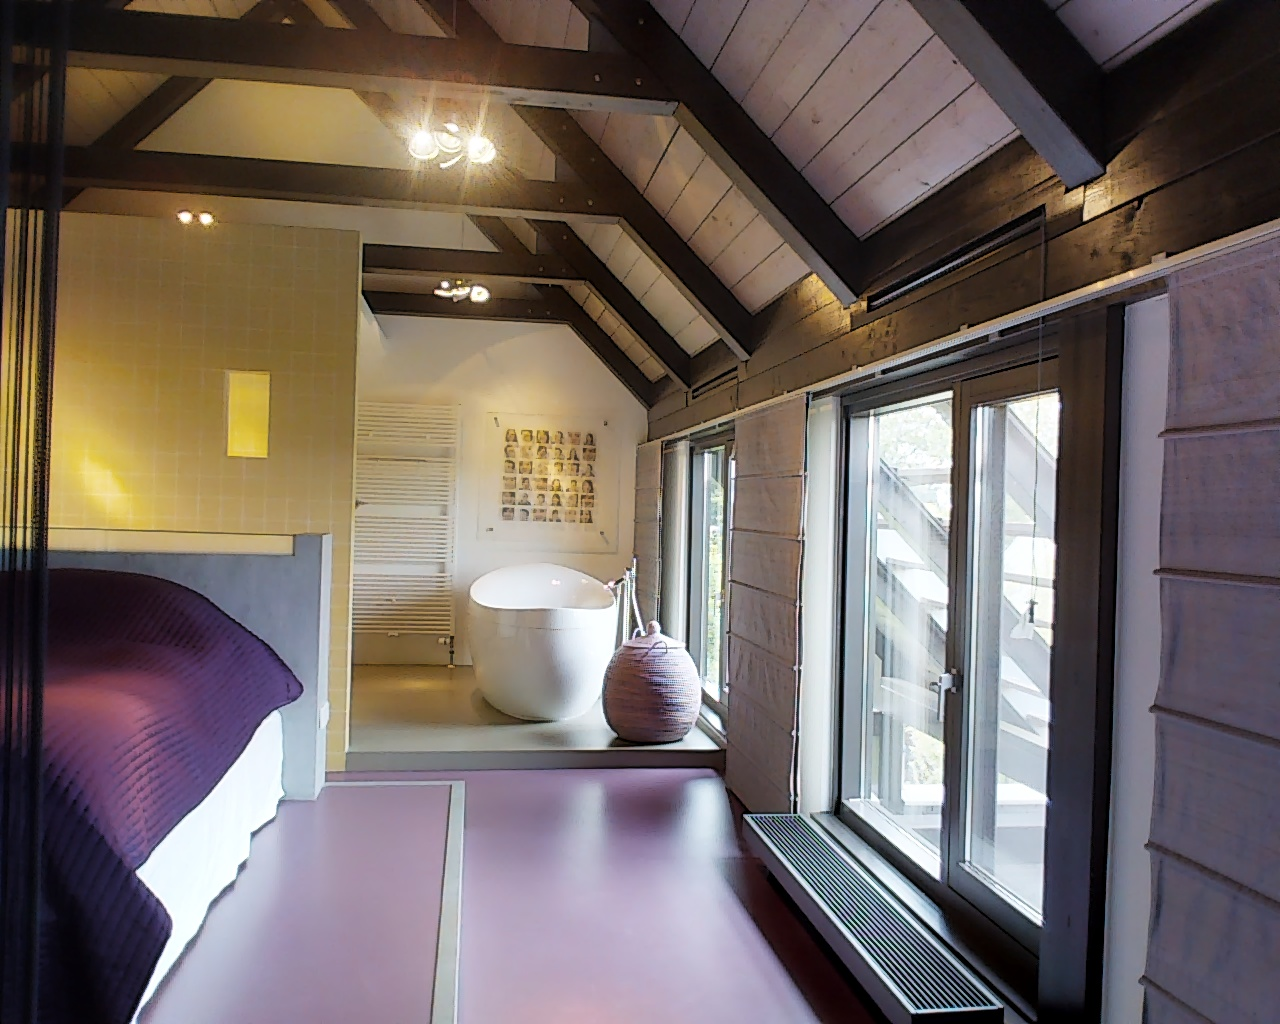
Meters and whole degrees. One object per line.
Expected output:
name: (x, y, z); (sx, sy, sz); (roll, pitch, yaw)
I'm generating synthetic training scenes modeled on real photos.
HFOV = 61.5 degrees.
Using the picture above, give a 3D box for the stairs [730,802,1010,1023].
stairs: (0.600, 1.220, 3.320); (0.230, 0.170, 1.760); (2, 0, -9)
